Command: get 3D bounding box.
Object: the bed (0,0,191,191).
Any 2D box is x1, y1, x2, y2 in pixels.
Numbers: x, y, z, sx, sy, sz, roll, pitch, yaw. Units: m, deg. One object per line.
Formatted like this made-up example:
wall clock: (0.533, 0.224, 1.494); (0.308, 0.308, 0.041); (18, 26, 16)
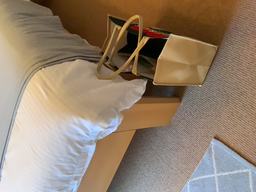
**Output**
bed: (-0.890, 0.170, 1.750); (2.080, 0.670, 1.780); (42, 117, 37)
